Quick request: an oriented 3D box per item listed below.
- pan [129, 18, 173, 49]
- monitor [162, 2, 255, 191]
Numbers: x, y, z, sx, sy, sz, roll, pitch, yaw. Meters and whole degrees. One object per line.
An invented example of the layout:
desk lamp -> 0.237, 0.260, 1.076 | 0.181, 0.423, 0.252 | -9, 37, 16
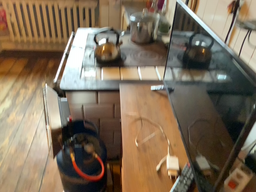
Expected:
pan -> 0.190, -0.550, 1.850 | 0.330, 0.160, 0.260 | 2, 36, -5
monitor -> 0.240, -0.030, 0.790 | 0.040, 0.450, 0.670 | 3, 36, -4
